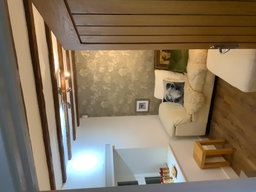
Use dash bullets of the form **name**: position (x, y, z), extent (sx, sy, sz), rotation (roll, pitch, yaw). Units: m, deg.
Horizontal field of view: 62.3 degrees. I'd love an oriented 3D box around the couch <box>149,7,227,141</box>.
- **couch**: position (0.880, -0.400, 3.650), extent (1.030, 0.730, 2.060), rotation (-106, 16, -67)
